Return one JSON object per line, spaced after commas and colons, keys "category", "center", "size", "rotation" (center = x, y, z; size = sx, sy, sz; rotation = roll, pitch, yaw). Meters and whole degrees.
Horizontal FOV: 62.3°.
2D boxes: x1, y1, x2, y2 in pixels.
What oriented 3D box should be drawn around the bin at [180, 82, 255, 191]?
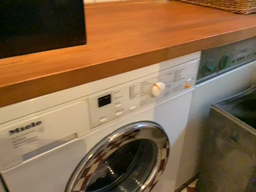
{"category": "bin", "center": [0.610, 0.260, 1.040], "size": [0.650, 0.600, 0.240], "rotation": [-19, 38, -31]}
